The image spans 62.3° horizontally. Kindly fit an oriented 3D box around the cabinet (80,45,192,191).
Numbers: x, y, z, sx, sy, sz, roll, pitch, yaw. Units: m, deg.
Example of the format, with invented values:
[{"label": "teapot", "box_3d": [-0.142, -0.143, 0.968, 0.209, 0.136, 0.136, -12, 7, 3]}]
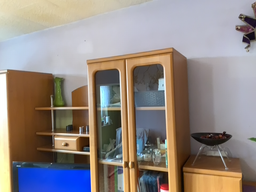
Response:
[{"label": "cabinet", "box_3d": [0.090, 0.650, 1.690, 0.730, 1.920, 0.470, -2, 0, 27]}]
